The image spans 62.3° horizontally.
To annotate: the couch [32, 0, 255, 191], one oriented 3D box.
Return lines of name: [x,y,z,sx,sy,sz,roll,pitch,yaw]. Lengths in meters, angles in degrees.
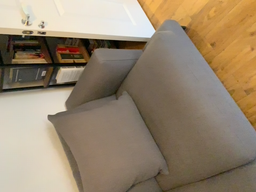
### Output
couch: [0.240,0.560,1.240,1.040,0.870,1.940,-49,60,43]

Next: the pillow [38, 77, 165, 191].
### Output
pillow: [-0.150,0.280,1.330,0.240,0.570,0.700,-38,65,23]
